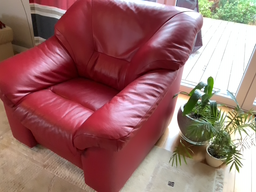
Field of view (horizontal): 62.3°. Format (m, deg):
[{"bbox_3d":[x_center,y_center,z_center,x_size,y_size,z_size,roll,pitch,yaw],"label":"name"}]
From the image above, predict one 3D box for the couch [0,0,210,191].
[{"bbox_3d":[-0.190,-0.130,1.390,0.970,0.870,0.990,22,36,23],"label":"couch"}]
